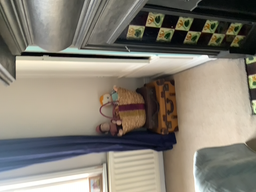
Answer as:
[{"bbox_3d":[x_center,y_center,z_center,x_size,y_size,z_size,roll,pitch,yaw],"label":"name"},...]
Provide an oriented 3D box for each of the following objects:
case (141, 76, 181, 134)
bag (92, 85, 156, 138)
[{"bbox_3d":[0.320,0.100,2.150,0.380,0.190,0.530,160,107,-68],"label":"case"},{"bbox_3d":[-0.040,0.140,2.070,0.190,0.560,0.470,158,109,-68],"label":"bag"}]
